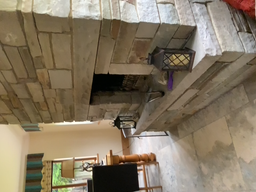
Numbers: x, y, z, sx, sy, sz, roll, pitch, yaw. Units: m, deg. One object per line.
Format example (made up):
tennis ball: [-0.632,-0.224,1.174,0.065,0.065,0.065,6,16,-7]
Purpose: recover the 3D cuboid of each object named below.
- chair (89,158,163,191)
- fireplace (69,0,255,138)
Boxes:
chair: [-0.070,1.280,3.360,0.620,1.010,0.420,123,143,-65]
fireplace: [0.080,-0.220,2.170,1.920,1.290,0.790,119,147,-62]
